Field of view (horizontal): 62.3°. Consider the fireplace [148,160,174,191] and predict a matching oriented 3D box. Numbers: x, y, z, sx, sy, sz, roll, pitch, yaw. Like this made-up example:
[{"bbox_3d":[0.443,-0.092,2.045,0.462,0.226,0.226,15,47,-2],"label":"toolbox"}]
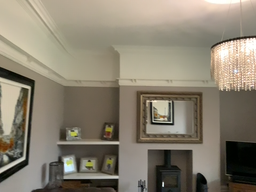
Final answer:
[{"bbox_3d":[0.630,1.590,4.100,0.420,0.600,0.380,1,-3,-2],"label":"fireplace"}]
